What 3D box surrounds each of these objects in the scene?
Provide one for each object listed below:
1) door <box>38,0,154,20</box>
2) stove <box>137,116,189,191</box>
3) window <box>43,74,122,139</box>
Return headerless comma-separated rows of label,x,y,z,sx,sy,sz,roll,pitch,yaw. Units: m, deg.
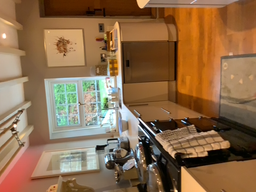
door,-0.540,-1.890,3.790,0.200,2.020,0.990,-146,53,-76
stove,0.230,0.650,1.690,0.980,0.050,0.770,-143,50,-76
window,-0.810,0.170,3.960,0.300,1.320,1.070,-133,41,-73
